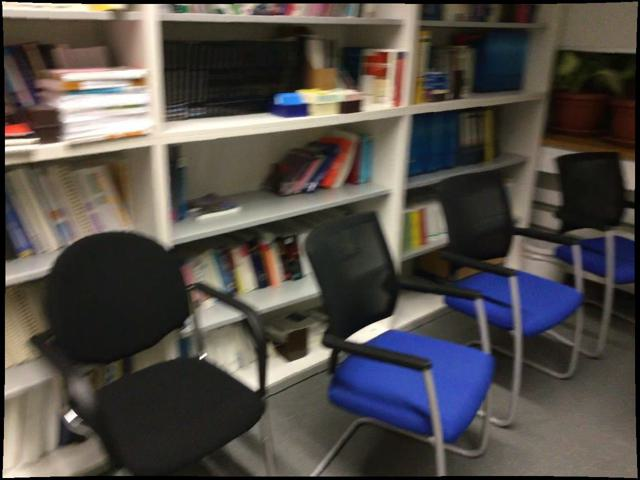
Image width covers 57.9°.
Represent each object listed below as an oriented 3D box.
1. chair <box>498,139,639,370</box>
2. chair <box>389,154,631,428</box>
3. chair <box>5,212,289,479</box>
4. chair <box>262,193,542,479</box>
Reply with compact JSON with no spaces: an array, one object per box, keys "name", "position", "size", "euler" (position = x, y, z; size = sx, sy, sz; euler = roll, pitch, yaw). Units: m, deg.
[{"name":"chair","position":[1.459,0.020,2.910],"size":[0.719,0.881,0.670],"euler":[-9,24,-22]},{"name":"chair","position":[0.779,0.160,2.510],"size":[0.610,0.871,0.670],"euler":[-17,28,-37]},{"name":"chair","position":[-0.519,0.280,1.740],"size":[0.540,0.470,0.690],"euler":[-17,28,-37]},{"name":"chair","position":[0.260,0.390,1.930],"size":[0.670,0.881,0.570],"euler":[14,25,30]}]
